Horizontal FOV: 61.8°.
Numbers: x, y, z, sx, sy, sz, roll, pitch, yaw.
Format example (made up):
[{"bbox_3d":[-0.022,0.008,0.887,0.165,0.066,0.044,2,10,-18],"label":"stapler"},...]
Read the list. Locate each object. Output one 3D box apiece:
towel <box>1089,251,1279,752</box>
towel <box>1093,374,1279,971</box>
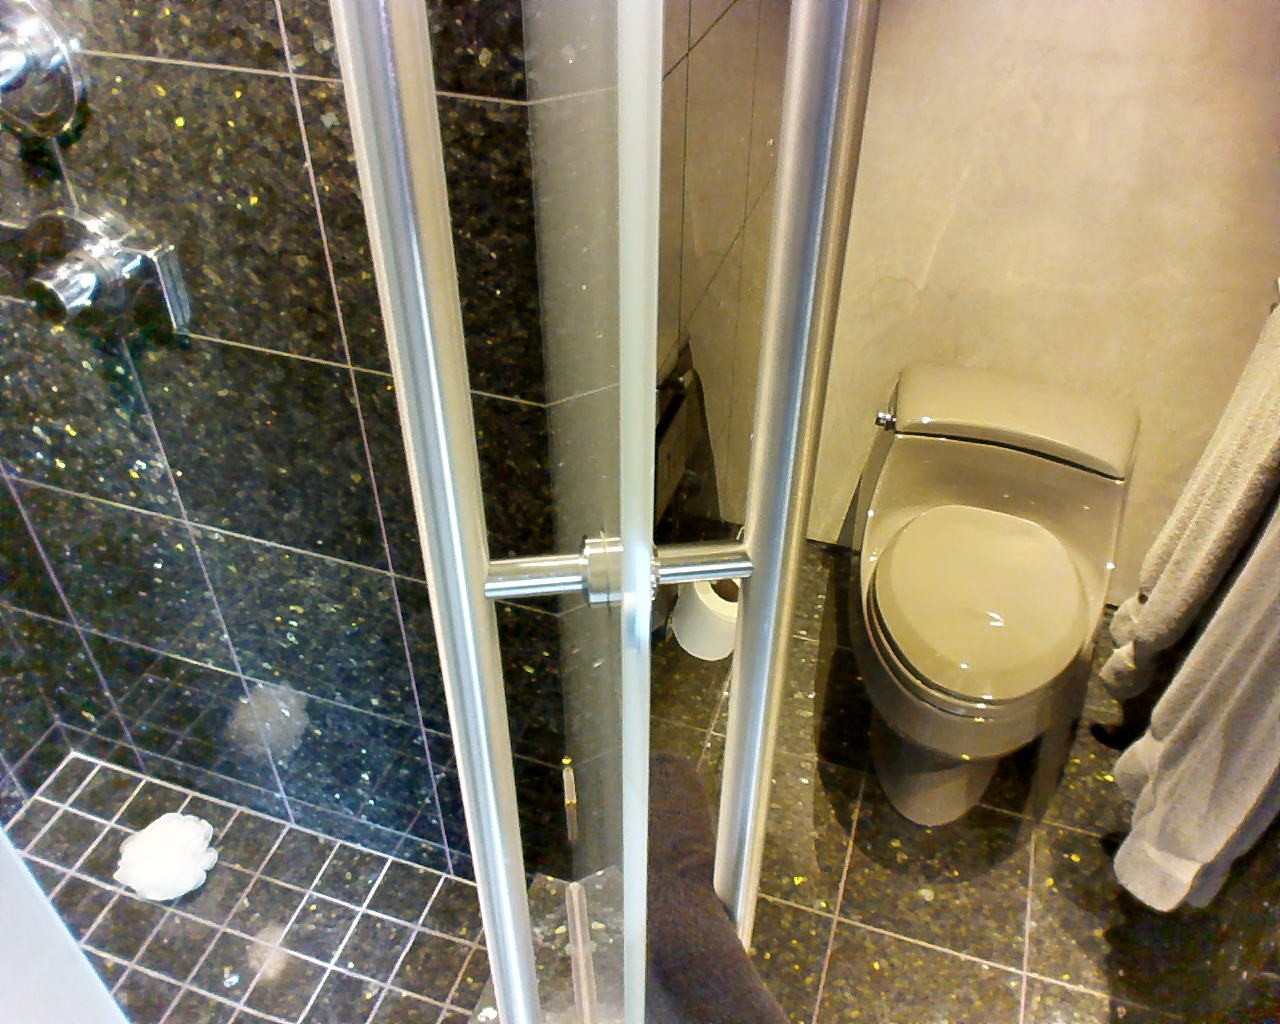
[{"bbox_3d":[0.970,-0.010,1.870,0.170,0.720,0.470,12,41,15],"label":"towel"},{"bbox_3d":[0.840,0.250,1.560,0.150,0.760,0.450,12,41,15],"label":"towel"}]
